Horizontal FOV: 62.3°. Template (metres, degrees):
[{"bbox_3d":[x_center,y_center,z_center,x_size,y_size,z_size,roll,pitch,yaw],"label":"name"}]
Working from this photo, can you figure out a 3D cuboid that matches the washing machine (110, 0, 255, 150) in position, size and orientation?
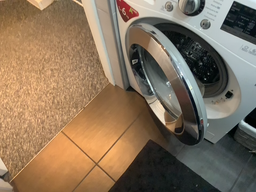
[{"bbox_3d":[0.340,-0.240,0.930,0.590,0.850,0.500,36,71,20],"label":"washing machine"}]
